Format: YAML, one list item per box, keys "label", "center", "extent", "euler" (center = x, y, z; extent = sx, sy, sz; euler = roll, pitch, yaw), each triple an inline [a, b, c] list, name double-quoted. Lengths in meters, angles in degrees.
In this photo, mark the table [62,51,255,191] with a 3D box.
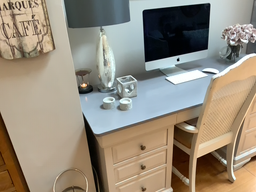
- label: "table"
  center: [0.370, 0.210, 1.650]
  extent: [1.500, 0.760, 0.610]
  euler: [-14, 30, -21]
